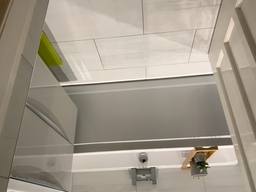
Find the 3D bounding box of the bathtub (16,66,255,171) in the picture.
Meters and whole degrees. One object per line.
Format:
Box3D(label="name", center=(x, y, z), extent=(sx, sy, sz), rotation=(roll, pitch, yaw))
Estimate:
Box3D(label="bathtub", center=(0.100, 0.250, 1.800), extent=(1.670, 0.560, 0.690), rotation=(-4, 152, 5))
